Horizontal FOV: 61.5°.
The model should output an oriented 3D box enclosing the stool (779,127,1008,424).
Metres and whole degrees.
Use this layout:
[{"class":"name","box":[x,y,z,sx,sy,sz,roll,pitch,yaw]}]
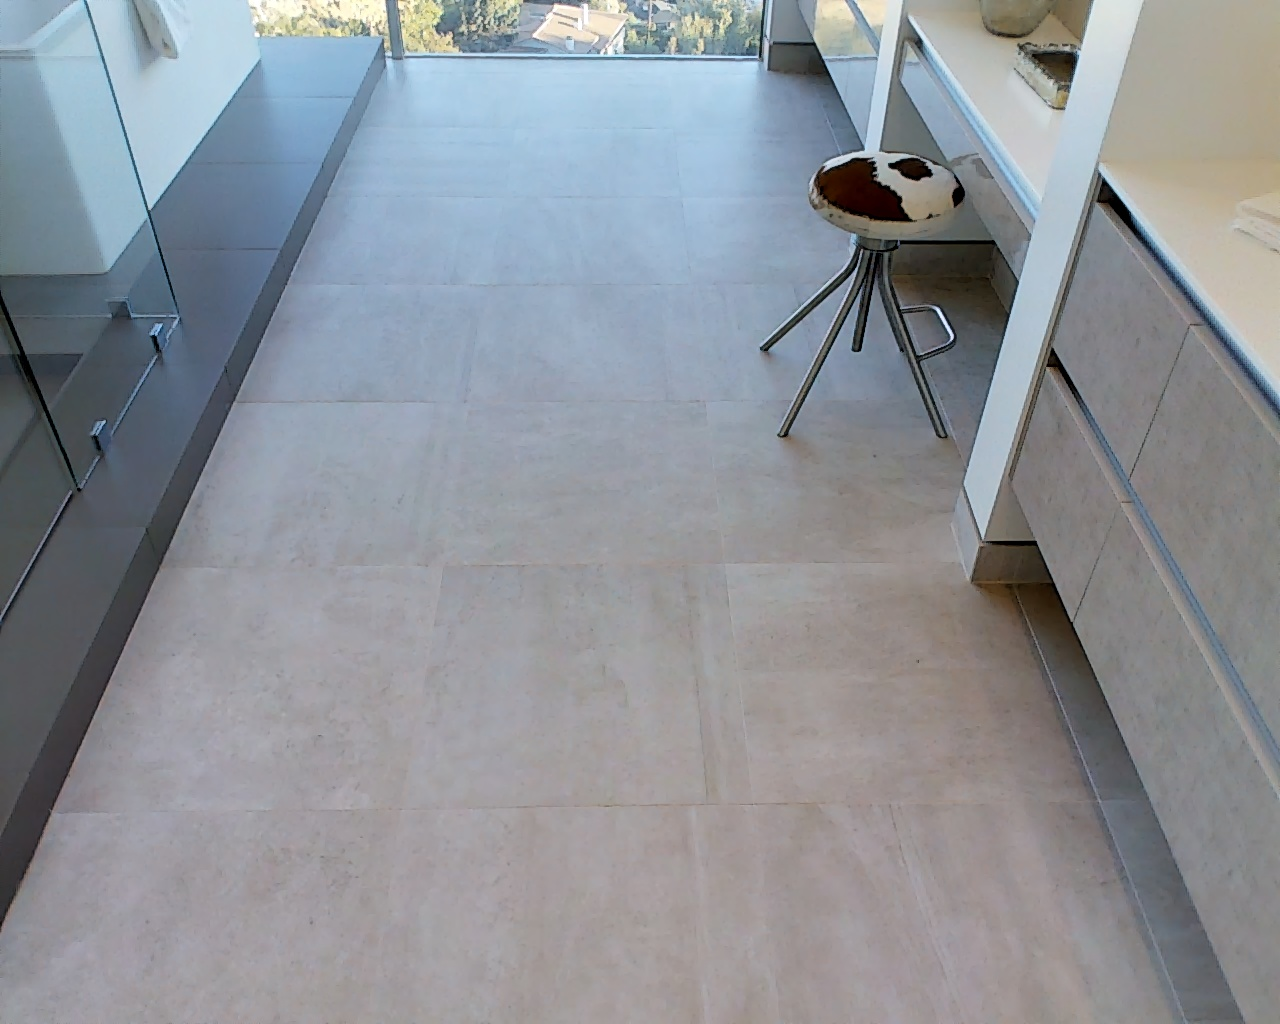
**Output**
[{"class":"stool","box":[0.570,-0.560,2.570,0.380,0.580,0.380,0,41,-1]}]
